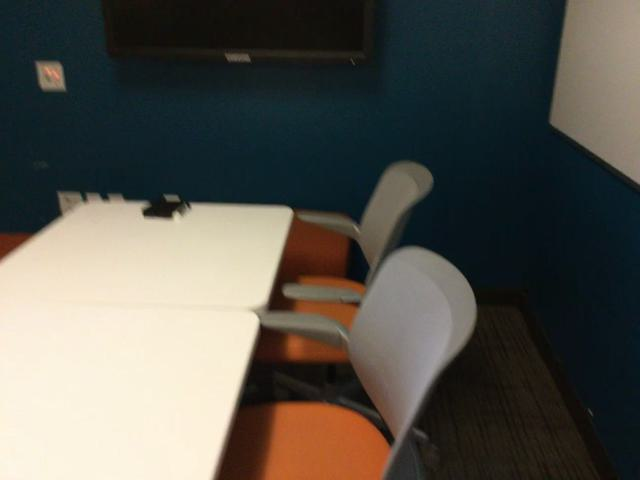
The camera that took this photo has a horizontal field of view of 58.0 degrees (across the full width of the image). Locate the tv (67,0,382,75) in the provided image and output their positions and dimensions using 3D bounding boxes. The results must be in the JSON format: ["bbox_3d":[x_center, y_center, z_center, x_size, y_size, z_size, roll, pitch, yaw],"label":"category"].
[{"bbox_3d":[-0.370,-1.020,2.310,1.230,0.640,0.230,3,22,3],"label":"tv"}]
